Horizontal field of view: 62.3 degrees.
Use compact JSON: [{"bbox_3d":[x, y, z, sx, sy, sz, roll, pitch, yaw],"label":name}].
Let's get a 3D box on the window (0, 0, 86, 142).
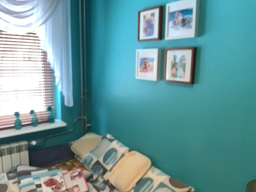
[{"bbox_3d":[-1.330,-0.490,1.850,2.020,1.840,0.270,-8,13,-42],"label":"window"}]
